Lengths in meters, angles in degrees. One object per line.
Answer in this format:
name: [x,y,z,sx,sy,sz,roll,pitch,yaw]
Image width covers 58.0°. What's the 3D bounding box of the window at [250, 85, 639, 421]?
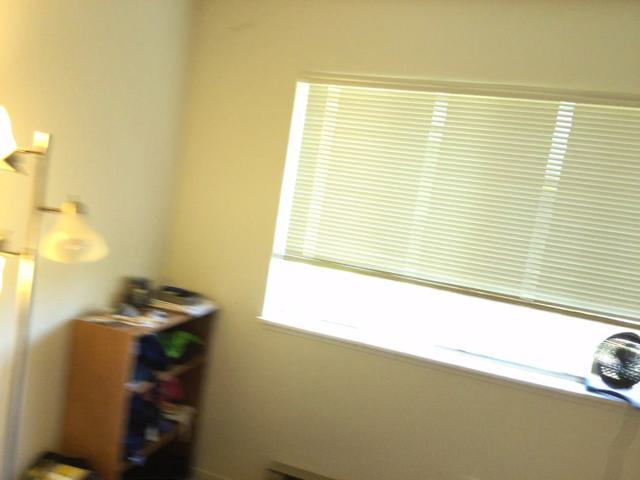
window: [0.620,-0.010,2.380,1.880,1.180,0.140,7,5,22]
